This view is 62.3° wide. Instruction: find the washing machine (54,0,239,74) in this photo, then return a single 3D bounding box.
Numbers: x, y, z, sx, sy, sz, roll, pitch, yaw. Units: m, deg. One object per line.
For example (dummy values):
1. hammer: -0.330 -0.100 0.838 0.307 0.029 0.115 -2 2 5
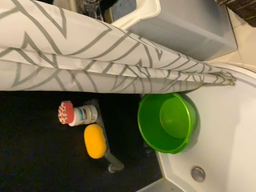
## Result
1. washing machine: 0.140 -0.400 1.060 0.460 0.830 0.420 -17 80 41
